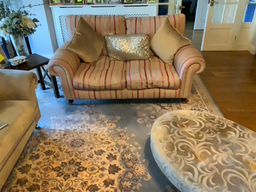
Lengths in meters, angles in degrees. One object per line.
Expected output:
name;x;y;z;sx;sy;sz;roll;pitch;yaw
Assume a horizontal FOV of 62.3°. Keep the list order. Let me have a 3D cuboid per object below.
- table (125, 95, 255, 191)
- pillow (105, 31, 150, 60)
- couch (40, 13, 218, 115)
table;0.590;0.470;1.540;0.720;0.350;1.060;-23;38;-31
pillow;-0.020;-0.600;2.570;0.510;0.300;0.110;5;57;-5
couch;0.010;-0.430;2.550;1.610;0.850;0.960;-2;32;-1
